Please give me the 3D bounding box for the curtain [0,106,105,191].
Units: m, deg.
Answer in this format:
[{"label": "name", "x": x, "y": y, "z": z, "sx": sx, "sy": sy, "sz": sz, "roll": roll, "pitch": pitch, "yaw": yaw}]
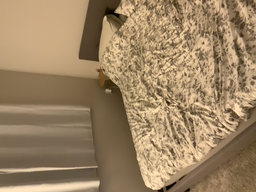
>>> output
[{"label": "curtain", "x": -1.060, "y": 0.940, "z": 2.200, "sx": 0.140, "sy": 1.620, "sz": 1.980, "roll": 116, "pitch": 149, "yaw": -43}]
